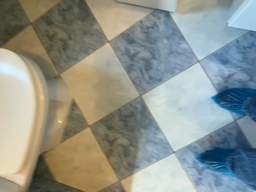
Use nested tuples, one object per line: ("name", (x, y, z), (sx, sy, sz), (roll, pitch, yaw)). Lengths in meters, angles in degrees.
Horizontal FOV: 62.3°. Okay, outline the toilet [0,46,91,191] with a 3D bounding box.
("toilet", (-0.530, 0.150, 0.860), (0.380, 0.710, 0.680), (16, 95, 9))
